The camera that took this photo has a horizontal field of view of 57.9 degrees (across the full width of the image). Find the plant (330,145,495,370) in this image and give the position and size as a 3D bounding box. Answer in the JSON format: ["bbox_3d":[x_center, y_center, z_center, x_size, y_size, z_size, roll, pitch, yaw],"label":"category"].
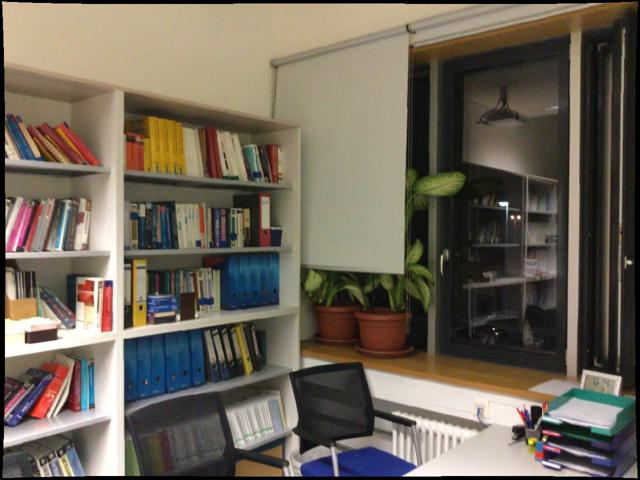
[{"bbox_3d":[0.509,0.070,3.300,0.800,1.121,0.450,3,4,42],"label":"plant"}]

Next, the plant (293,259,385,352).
[{"bbox_3d":[0.120,0.380,3.560,0.350,0.480,0.460,3,4,42],"label":"plant"}]

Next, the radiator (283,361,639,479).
[{"bbox_3d":[1.109,1.181,2.450,3.248,0.701,0.350,3,4,42],"label":"radiator"}]
